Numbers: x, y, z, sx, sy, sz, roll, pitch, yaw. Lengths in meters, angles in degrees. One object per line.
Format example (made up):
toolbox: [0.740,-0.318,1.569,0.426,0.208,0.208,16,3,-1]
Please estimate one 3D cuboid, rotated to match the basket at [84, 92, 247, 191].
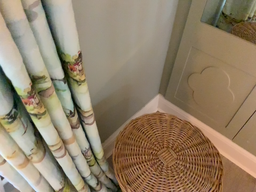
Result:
basket: [0.140,0.400,1.010,0.420,0.560,0.470,36,55,24]
